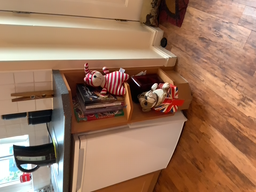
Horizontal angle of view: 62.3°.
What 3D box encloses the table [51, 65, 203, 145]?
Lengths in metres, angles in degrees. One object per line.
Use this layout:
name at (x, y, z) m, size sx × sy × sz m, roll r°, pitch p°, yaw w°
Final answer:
table at (0.000, 0.010, 1.410) m, size 0.340 × 0.920 × 0.280 m, roll 52°, pitch 139°, yaw 45°
